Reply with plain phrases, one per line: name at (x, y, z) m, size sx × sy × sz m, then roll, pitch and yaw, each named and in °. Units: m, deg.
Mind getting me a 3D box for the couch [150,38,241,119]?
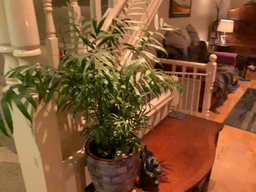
couch at (1.220, -0.440, 3.740) m, size 1.000 × 0.930 × 1.510 m, roll 15°, pitch 26°, yaw 33°
